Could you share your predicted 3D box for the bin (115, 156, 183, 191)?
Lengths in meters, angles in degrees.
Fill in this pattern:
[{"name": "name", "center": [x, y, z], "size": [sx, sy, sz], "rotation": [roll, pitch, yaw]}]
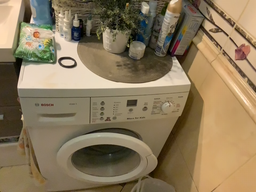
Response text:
[{"name": "bin", "center": [0.100, 0.530, 1.150], "size": [0.270, 0.320, 0.250], "rotation": [-2, 48, -14]}]
